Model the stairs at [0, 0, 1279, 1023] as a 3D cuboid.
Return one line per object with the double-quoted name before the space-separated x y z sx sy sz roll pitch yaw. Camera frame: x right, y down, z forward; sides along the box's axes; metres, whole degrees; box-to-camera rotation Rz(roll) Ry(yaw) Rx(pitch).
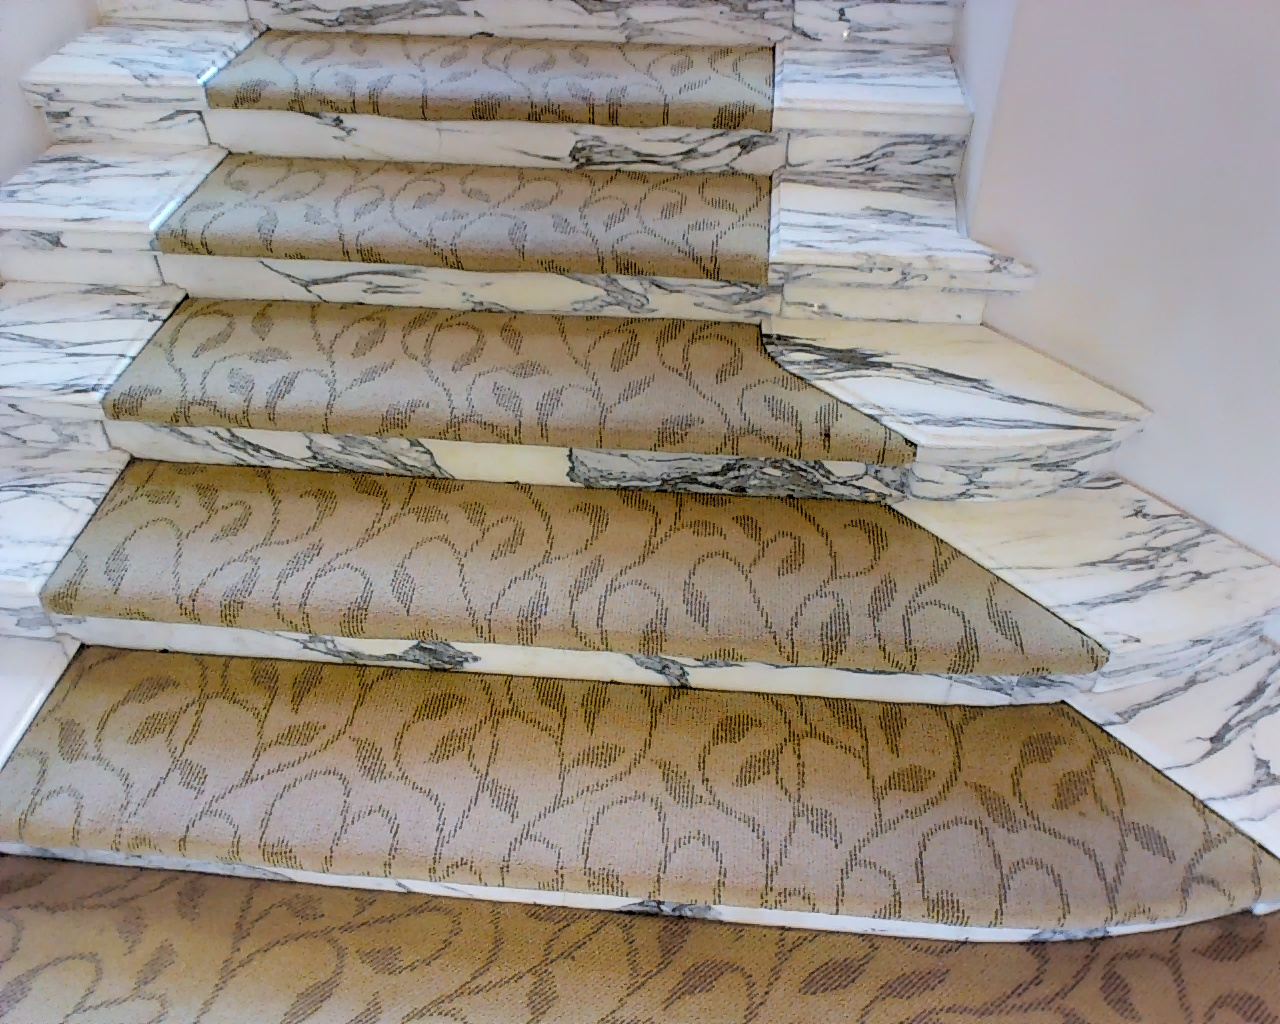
"stairs" -0.350 -0.920 2.200 2.530 1.320 3.730 -11 43 -12
